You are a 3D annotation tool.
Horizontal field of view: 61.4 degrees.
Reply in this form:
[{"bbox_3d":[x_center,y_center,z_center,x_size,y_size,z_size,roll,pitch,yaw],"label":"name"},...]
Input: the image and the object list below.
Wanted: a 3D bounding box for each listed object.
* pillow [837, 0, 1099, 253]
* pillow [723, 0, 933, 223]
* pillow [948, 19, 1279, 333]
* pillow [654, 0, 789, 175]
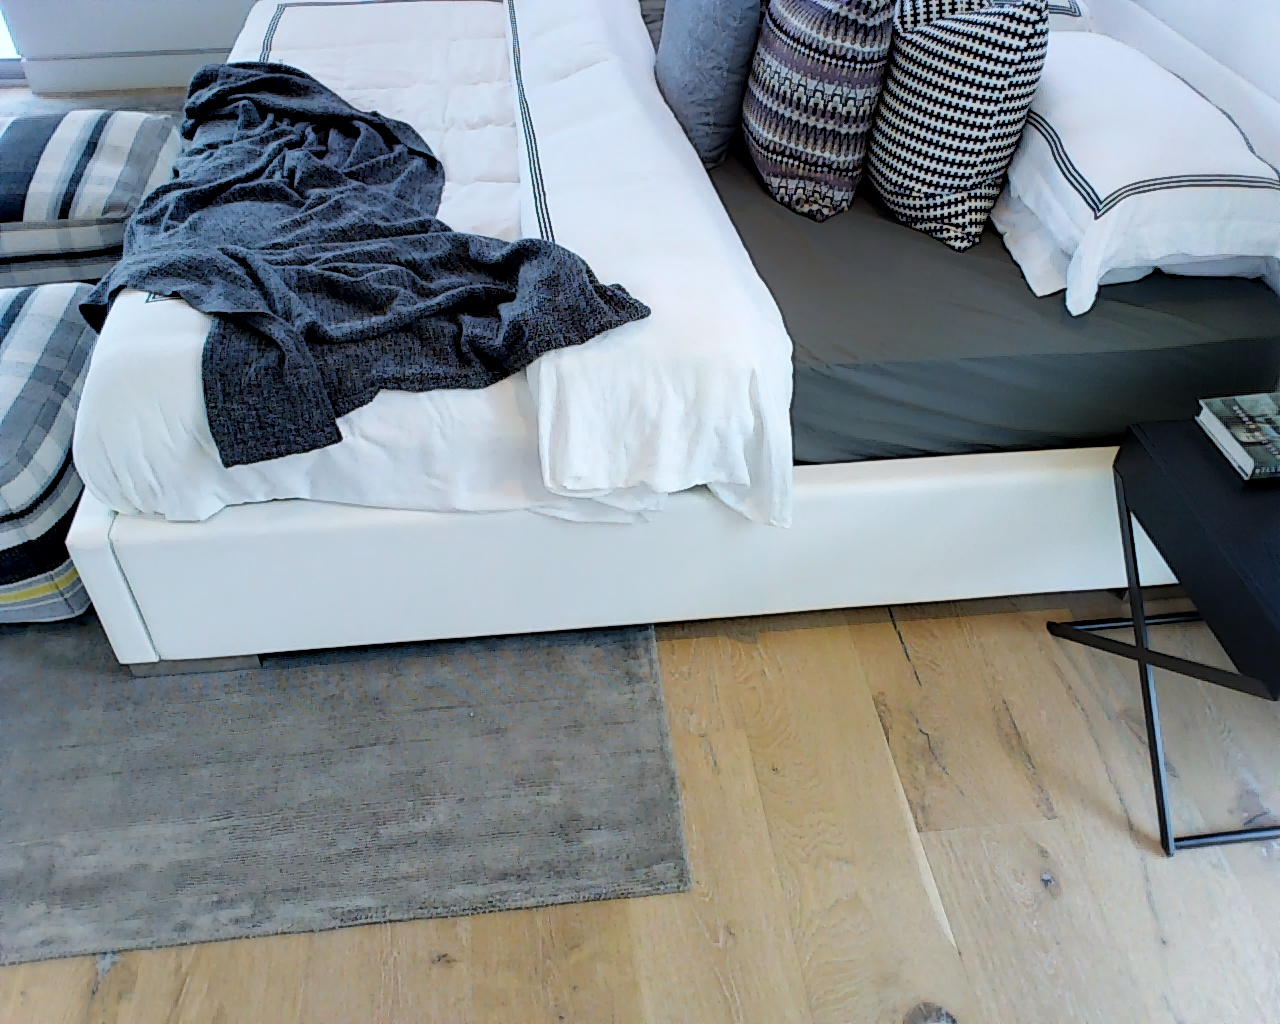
[{"bbox_3d":[0.590,-0.830,2.070,0.240,0.440,0.520,-4,43,-5],"label":"pillow"},{"bbox_3d":[0.350,-0.900,2.170,0.240,0.420,0.500,-5,43,-7],"label":"pillow"},{"bbox_3d":[0.920,-0.650,2.000,0.430,0.280,0.680,-4,43,-5],"label":"pillow"},{"bbox_3d":[0.160,-1.000,2.310,0.200,0.380,0.420,-4,43,-5],"label":"pillow"}]
